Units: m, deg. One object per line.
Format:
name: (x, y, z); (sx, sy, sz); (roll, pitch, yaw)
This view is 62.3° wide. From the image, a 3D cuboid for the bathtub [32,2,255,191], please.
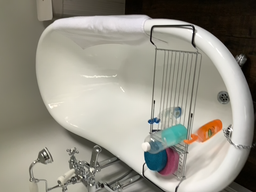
bathtub: (0.030, -0.050, 1.320); (1.510, 0.720, 0.740); (19, 113, 49)
